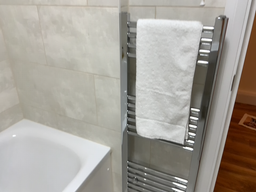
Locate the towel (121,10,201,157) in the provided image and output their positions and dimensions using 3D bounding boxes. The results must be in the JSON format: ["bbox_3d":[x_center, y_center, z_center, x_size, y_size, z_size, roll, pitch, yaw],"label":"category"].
[{"bbox_3d":[0.120,-0.050,0.890,0.260,0.570,0.140,11,25,21],"label":"towel"}]
